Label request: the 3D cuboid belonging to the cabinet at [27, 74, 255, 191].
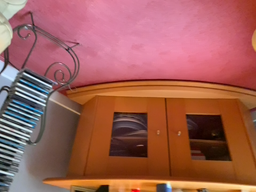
[{"bbox_3d":[0.250,0.340,1.490,1.460,0.660,0.680,2,143,2],"label":"cabinet"}]
